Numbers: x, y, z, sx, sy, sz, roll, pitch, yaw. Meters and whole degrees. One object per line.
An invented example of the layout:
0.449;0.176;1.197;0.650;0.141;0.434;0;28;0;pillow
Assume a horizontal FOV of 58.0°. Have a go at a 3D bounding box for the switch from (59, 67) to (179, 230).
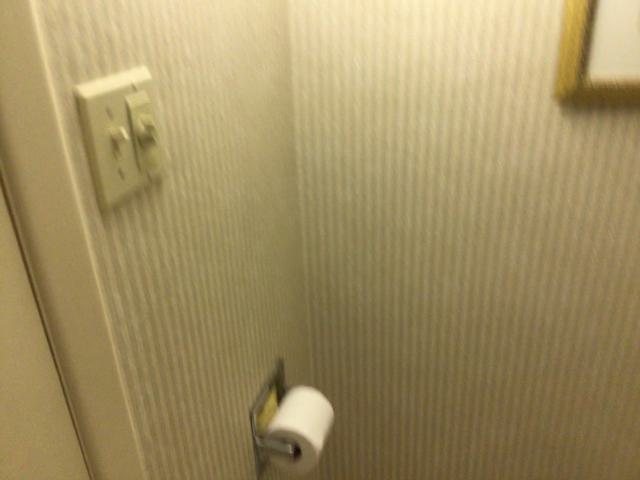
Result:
-0.180;-0.090;0.540;0.020;0.120;0.130;4;25;14;switch
